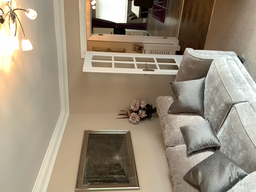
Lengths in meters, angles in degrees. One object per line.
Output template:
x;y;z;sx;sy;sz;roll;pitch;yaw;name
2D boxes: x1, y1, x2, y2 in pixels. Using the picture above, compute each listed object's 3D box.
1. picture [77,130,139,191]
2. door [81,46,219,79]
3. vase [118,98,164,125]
-0.280;0.830;2.950;1.110;0.720;0.030;-102;14;-61;picture
0.300;-0.530;3.250;0.840;1.920;0.080;-99;12;-53;door
0.210;0.270;3.770;0.410;0.740;0.290;-101;13;-59;vase
